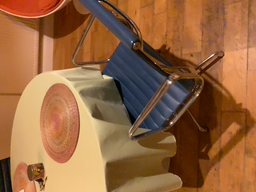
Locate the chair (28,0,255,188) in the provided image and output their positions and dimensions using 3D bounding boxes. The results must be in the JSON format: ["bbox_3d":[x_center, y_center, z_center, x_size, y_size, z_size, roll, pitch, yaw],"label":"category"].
[{"bbox_3d":[0.070,-0.100,1.110,0.650,0.800,0.630,51,121,32],"label":"chair"}]
